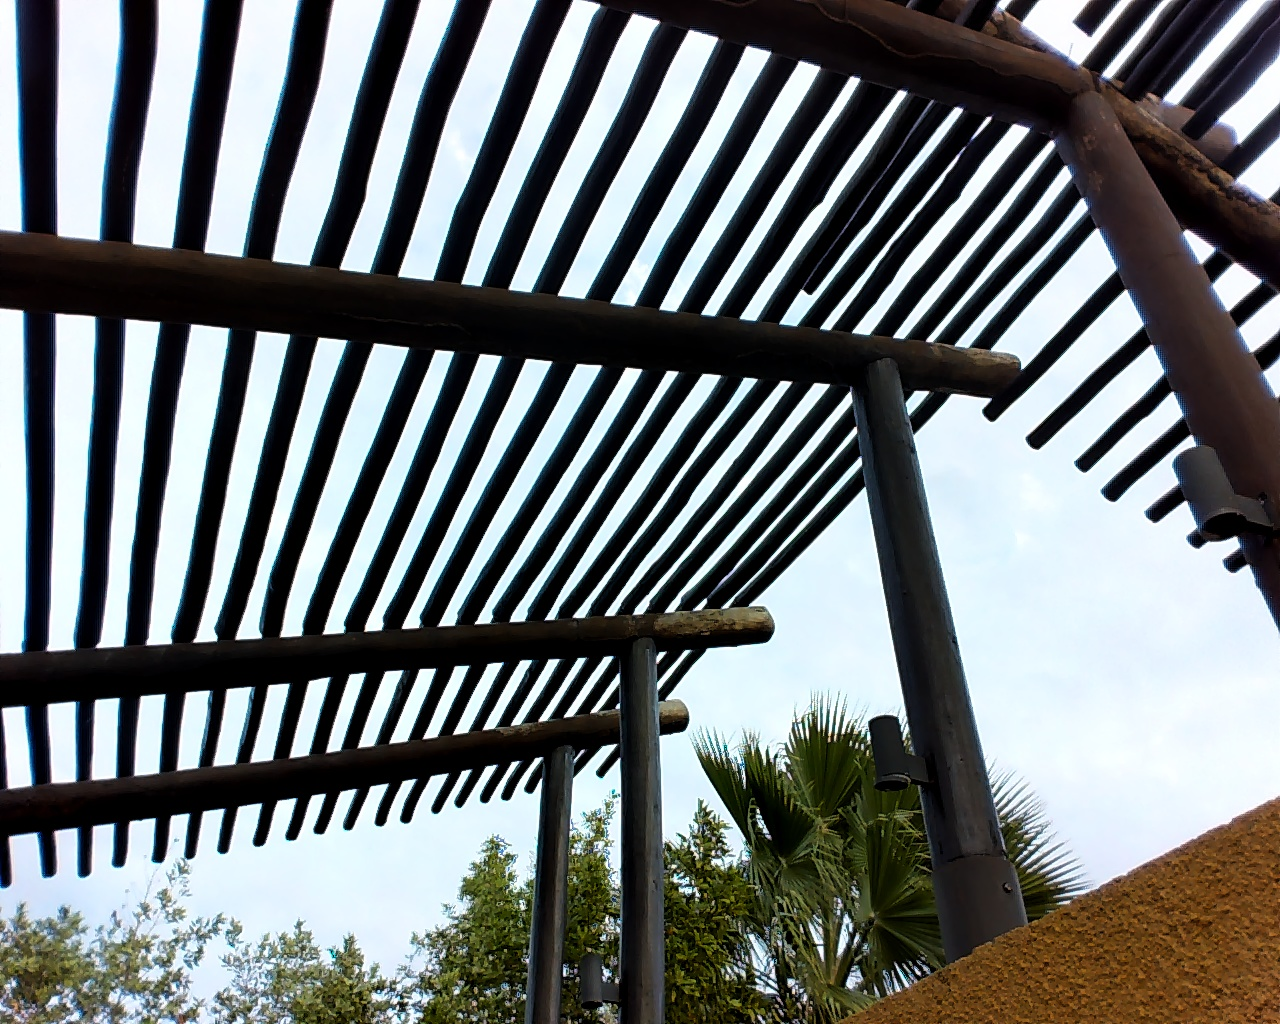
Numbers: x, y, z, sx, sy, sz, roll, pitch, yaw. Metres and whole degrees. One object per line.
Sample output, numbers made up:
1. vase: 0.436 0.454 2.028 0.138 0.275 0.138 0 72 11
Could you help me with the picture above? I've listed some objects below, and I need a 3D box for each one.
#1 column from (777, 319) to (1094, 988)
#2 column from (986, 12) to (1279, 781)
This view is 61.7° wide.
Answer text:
1. column: 0.800 0.310 3.330 0.360 2.030 0.560 17 -43 -18
2. column: 1.330 -0.450 2.600 0.320 2.220 0.420 16 -43 -18
